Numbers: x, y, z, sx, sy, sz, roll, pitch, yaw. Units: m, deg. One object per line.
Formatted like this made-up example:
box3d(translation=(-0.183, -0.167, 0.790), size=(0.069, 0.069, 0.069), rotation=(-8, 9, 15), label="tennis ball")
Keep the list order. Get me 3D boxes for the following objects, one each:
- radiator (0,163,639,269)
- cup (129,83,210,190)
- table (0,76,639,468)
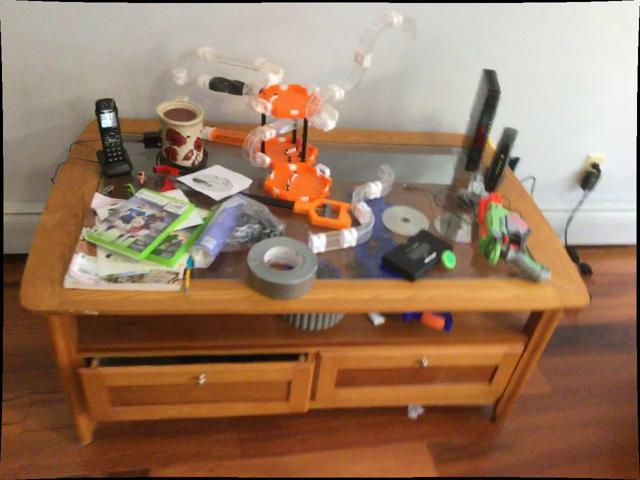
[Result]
box3d(translation=(0.270, -0.090, 2.050), size=(4.037, 0.300, 0.160), rotation=(-1, 40, -10), label="radiator")
box3d(translation=(-0.380, -0.270, 1.490), size=(0.180, 0.180, 0.230), rotation=(-1, 40, -10), label="cup")
box3d(translation=(-0.050, 0.030, 1.600), size=(1.279, 0.590, 0.850), rotation=(-1, 40, -10), label="table")
